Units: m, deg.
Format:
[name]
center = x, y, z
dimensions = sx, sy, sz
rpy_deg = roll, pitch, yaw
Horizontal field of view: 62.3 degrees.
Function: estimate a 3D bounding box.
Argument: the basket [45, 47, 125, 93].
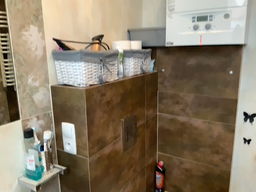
[basket]
center = -0.200, -0.150, 1.070
dimensions = 0.220, 0.190, 0.330
rpy_deg = 7, 15, 31
